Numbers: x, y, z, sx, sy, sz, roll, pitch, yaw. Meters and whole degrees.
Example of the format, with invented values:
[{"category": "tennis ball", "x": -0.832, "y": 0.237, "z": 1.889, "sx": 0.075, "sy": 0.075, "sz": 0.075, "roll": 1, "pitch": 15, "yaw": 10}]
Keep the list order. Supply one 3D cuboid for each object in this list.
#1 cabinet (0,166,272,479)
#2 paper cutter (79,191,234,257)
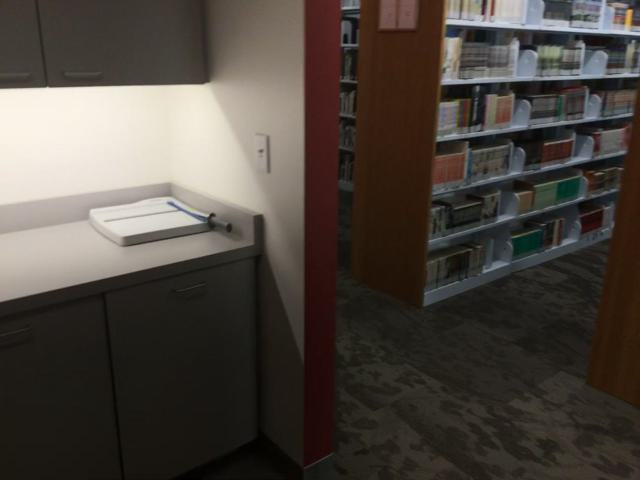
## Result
[{"category": "cabinet", "x": -1.150, "y": 0.450, "z": 1.590, "sx": 2.000, "sy": 0.970, "sz": 0.630, "roll": -15, "pitch": 23, "yaw": -37}, {"category": "paper cutter", "x": -0.570, "y": -0.070, "z": 1.980, "sx": 0.340, "sy": 0.060, "sz": 0.480, "roll": -15, "pitch": 23, "yaw": -37}]
